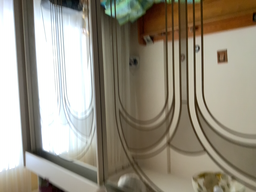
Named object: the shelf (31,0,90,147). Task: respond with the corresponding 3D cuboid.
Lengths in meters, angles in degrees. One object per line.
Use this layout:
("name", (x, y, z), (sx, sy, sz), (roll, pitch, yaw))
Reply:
("shelf", (-0.670, -0.590, 2.050), (0.450, 2.040, 0.300), (1, -175, 42))
